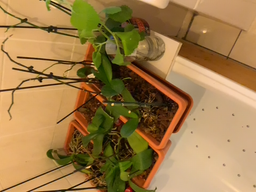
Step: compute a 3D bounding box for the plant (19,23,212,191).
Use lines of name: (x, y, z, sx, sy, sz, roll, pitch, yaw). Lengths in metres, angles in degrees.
plant: (-0.100, 0.140, 0.840, 0.460, 0.400, 0.660, 35, 118, 33)
